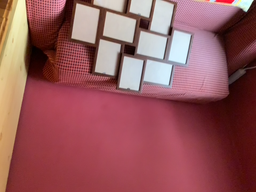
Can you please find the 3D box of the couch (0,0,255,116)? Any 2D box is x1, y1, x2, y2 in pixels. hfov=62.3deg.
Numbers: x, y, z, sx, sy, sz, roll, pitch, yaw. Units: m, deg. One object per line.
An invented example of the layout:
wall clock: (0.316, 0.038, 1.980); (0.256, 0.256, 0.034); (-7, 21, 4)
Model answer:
couch: (0.220, -0.520, 1.230); (1.490, 0.810, 1.070); (7, 152, -18)
